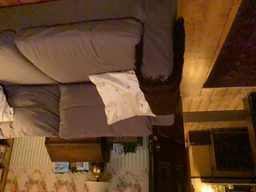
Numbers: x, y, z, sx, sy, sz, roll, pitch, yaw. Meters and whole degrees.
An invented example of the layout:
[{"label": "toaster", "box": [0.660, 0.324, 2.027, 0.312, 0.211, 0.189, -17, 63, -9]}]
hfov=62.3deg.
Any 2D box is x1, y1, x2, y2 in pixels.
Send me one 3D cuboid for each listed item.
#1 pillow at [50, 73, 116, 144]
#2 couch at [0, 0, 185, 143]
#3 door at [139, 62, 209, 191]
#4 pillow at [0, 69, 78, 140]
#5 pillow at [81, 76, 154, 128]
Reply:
[{"label": "pillow", "box": [-0.330, 0.090, 1.650, 0.390, 0.250, 0.490, -2, 101, 11]}, {"label": "couch", "box": [-0.600, -0.120, 1.650, 1.940, 1.100, 0.800, -4, 70, 13]}, {"label": "door", "box": [0.540, 0.790, 2.290, 0.240, 1.070, 2.070, -14, 66, 36]}, {"label": "pillow", "box": [-0.750, 0.080, 1.820, 0.470, 0.260, 0.540, -2, 116, 9]}, {"label": "pillow", "box": [-0.040, 0.020, 1.430, 0.420, 0.450, 0.090, -23, 99, 13]}]
